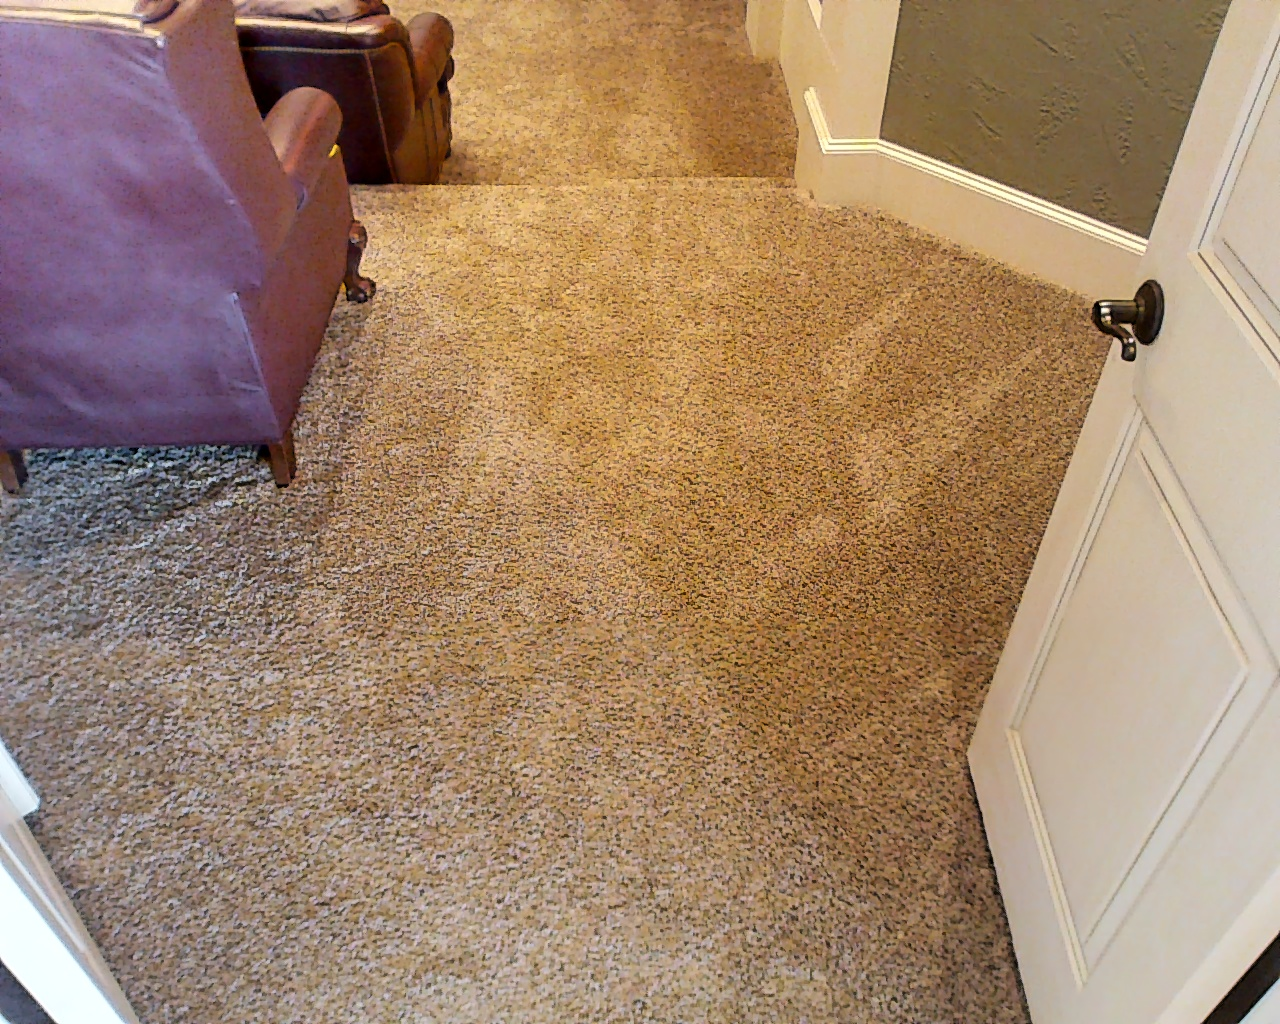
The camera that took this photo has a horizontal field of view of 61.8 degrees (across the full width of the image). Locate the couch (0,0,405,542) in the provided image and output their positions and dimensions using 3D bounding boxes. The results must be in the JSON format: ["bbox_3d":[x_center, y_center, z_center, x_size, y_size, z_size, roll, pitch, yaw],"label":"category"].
[{"bbox_3d":[-1.070,-0.670,2.230,0.840,1.090,0.980,0,43,0],"label":"couch"}]
